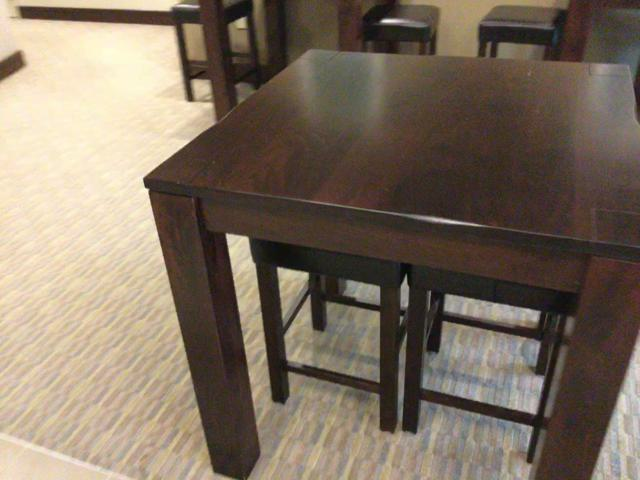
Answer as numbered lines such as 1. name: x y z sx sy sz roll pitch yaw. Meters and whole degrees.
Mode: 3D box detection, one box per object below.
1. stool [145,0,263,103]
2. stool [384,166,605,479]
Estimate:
1. stool: -0.740 -1.350 3.820 0.460 0.680 0.570 9 35 18
2. stool: 0.460 0.210 1.600 0.450 0.650 0.450 9 35 18
